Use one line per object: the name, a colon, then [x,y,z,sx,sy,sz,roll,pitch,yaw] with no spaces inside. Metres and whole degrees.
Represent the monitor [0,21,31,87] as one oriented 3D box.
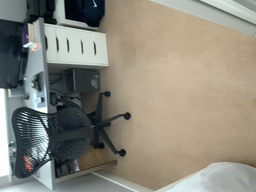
monitor: [-1.260,-0.390,2.080,0.070,0.480,0.680,46,126,37]
